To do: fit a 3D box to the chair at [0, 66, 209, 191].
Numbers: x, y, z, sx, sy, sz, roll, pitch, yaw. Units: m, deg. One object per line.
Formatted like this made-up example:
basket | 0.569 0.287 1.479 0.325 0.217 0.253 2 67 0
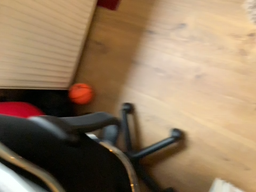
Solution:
chair | -0.110 0.270 0.770 0.520 0.890 0.550 24 100 23
